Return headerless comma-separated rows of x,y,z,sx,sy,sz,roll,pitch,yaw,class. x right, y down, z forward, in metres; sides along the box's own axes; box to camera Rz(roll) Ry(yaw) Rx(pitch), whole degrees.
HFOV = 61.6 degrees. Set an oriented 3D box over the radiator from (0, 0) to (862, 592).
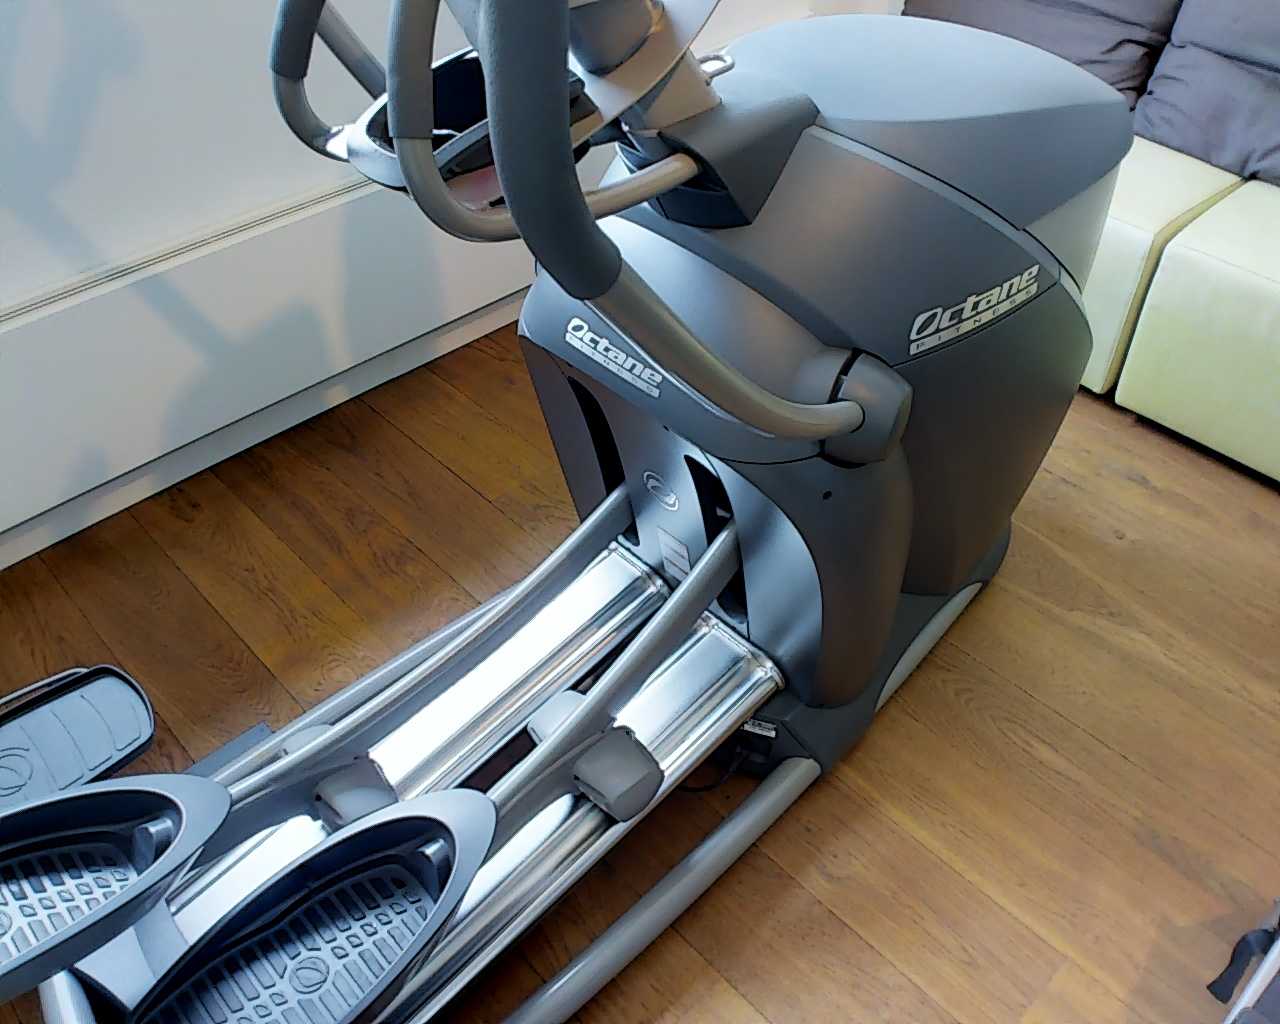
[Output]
-0.390,-0.570,2.330,2.560,0.490,0.110,-33,52,-31,radiator
